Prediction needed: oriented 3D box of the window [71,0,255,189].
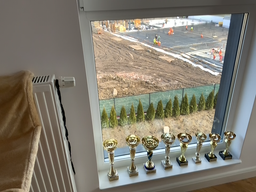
[{"bbox_3d":[0.270,-0.440,1.180,1.110,2.250,0.160,-6,27,-10],"label":"window"}]
